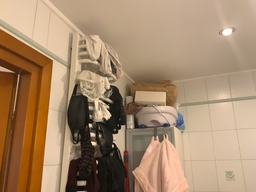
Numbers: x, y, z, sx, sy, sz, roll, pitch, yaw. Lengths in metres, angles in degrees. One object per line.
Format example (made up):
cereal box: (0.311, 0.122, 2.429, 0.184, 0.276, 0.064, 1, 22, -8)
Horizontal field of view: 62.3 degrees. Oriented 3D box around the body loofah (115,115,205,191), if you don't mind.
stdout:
body loofah: (0.200, 0.870, 1.540, 0.380, 1.340, 0.630, 7, -18, -25)
